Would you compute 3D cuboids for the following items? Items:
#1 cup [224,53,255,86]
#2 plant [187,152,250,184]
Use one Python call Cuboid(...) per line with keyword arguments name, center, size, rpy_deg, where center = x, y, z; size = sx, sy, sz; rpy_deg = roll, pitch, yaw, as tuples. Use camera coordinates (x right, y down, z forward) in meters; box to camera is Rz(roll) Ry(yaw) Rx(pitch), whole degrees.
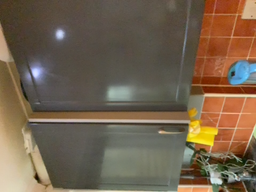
Cuboid(name="cup", center=(0.580, -0.110, 0.930), size=(0.180, 0.240, 0.100), rpy_deg=(71, -160, -81))
Cuboid(name="plant", center=(0.570, 0.460, 1.370), size=(0.140, 0.330, 0.180), rpy_deg=(82, -171, -72))
